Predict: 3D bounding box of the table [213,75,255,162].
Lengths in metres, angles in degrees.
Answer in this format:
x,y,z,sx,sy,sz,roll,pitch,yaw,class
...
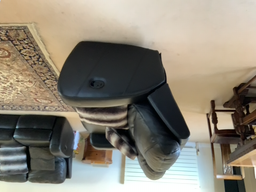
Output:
x,y,z,sx,sy,sz,roll,pitch,yaw,class
1.720,0.310,2.440,1.110,0.760,0.790,2,153,2,table

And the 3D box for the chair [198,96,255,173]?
x,y,z,sx,sy,sz,roll,pitch,yaw,class
1.240,0.500,2.750,0.450,0.870,0.480,0,151,6,chair
